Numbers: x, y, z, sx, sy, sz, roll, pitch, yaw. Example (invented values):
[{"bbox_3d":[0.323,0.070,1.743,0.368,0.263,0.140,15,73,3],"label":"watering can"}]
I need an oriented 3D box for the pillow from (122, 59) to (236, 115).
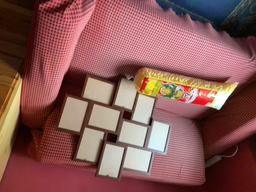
[{"bbox_3d":[0.300,-0.040,1.270,0.640,0.110,0.190,12,139,-14],"label":"pillow"}]

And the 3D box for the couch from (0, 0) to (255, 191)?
[{"bbox_3d":[0.130,0.010,1.390,1.490,0.810,1.070,16,138,-19],"label":"couch"}]
